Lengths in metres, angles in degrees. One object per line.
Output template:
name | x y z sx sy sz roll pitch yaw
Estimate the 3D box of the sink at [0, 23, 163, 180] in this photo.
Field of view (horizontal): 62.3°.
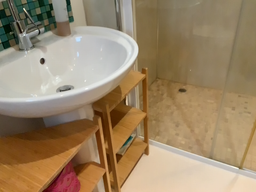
sink | -0.200 -0.070 0.740 0.470 0.180 0.540 14 38 24
